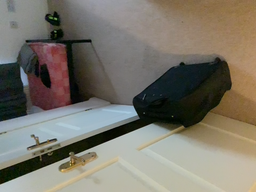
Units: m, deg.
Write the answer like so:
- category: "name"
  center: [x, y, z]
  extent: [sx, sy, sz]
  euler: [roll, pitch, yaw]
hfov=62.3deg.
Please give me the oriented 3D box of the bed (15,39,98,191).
- category: "bed"
  center: [-0.950, 0.290, 2.860]
  extent: [1.060, 0.480, 2.030]
  euler: [16, 113, 45]
